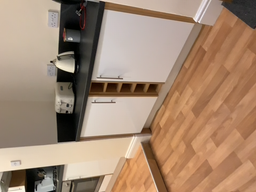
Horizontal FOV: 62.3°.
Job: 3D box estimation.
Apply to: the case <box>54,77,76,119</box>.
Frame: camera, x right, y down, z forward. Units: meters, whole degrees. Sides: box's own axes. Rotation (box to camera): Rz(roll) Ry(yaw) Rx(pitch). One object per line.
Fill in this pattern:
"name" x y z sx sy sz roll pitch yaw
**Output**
"case" -0.710 0.020 2.370 0.330 0.190 0.330 111 149 -42
